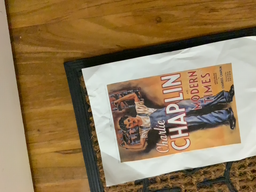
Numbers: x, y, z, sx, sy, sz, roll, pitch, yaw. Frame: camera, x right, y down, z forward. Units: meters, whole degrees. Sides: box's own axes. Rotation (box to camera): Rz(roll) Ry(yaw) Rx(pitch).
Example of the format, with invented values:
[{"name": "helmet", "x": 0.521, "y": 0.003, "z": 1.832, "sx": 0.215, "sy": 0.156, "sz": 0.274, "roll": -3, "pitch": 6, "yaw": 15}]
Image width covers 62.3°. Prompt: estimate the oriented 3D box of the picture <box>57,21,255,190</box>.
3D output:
[{"name": "picture", "x": 0.070, "y": 0.020, "z": 0.360, "sx": 0.330, "sy": 0.020, "sz": 0.230, "roll": -10, "pitch": 97, "yaw": 1}]
